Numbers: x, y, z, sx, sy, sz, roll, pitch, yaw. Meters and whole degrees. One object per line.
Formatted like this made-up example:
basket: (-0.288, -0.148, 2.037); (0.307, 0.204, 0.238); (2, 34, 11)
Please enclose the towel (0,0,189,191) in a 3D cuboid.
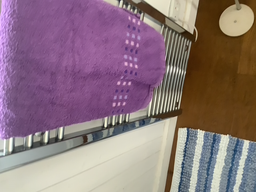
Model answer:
towel: (-0.050, -0.070, 0.540); (0.180, 0.500, 0.360); (16, 107, 33)
